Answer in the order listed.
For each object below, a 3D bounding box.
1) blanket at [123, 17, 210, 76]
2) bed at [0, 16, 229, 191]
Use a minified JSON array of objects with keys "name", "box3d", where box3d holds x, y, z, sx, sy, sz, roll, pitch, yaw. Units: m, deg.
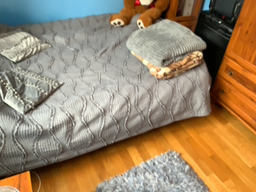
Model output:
[{"name":"blanket","box3d":[0.280,-0.430,1.720,0.460,0.200,0.510,-15,43,-23]},{"name":"bed","box3d":[-0.540,-0.120,1.850,2.230,0.480,1.400,-14,43,-21]}]
